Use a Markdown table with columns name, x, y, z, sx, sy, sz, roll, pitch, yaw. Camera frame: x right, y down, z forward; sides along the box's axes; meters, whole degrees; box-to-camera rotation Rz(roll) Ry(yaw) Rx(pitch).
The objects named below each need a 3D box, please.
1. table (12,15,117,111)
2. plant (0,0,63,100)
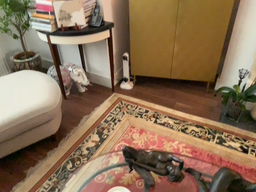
| name | x | y | z | sx | sy | sz | roll | pitch | yaw |
| --- | --- | --- | --- | --- | --- | --- | --- | --- | --- |
| table | -0.580 | -0.350 | 2.120 | 0.810 | 0.710 | 0.410 | 15 | 40 | 21 |
| plant | -1.160 | -0.850 | 2.010 | 0.450 | 1.700 | 0.560 | 17 | 41 | 24 |
